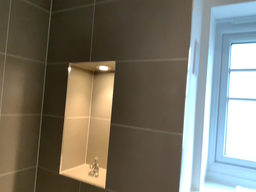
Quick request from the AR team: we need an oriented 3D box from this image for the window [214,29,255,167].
[{"bbox_3d":[0.750,0.010,1.090,0.520,0.720,0.060,4,-1,33],"label":"window"}]
